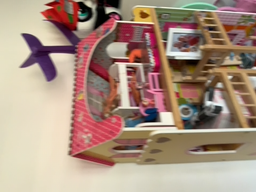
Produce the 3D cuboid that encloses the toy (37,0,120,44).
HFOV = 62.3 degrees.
[{"bbox_3d":[-0.240,-0.480,1.080,0.360,0.370,0.210,105,163,-57],"label":"toy"}]
